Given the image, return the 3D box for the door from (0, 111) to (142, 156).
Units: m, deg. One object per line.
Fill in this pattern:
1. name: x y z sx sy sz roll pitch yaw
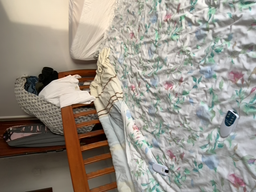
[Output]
1. door: -0.850 0.420 2.690 0.770 1.940 0.050 -139 52 -57
